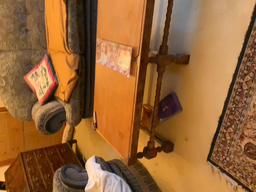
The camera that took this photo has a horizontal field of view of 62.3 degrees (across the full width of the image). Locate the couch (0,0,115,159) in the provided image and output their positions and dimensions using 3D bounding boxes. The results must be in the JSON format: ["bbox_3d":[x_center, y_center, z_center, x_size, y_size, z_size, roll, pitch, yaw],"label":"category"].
[{"bbox_3d":[-0.810,-0.700,2.040,1.080,0.930,2.090,24,115,53],"label":"couch"}]
